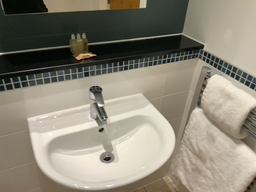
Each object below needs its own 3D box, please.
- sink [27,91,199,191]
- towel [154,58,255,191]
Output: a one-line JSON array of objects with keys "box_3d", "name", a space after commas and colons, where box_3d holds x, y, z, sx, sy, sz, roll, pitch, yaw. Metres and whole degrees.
[{"box_3d": [-0.080, 0.210, 0.870, 0.550, 0.180, 0.410, -13, 37, -23], "name": "sink"}, {"box_3d": [0.390, 0.270, 1.090, 0.200, 0.780, 0.460, -12, 37, -23], "name": "towel"}]
